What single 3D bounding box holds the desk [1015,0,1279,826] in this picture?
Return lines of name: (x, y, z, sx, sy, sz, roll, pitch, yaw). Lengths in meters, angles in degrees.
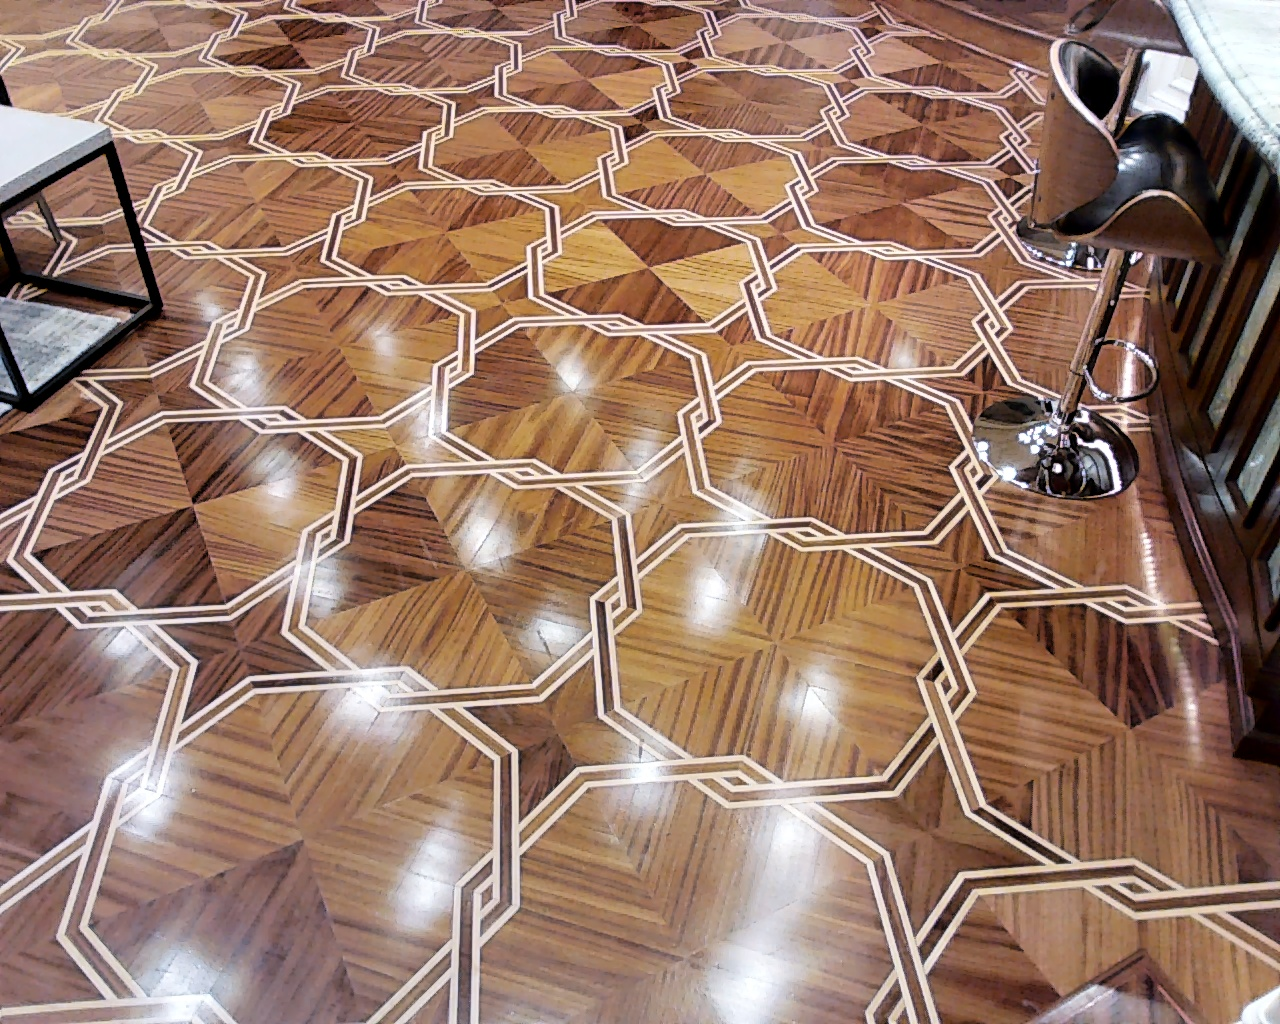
desk: (1.780, -0.820, 2.900, 0.990, 1.260, 3.130, 13, 43, 13)
